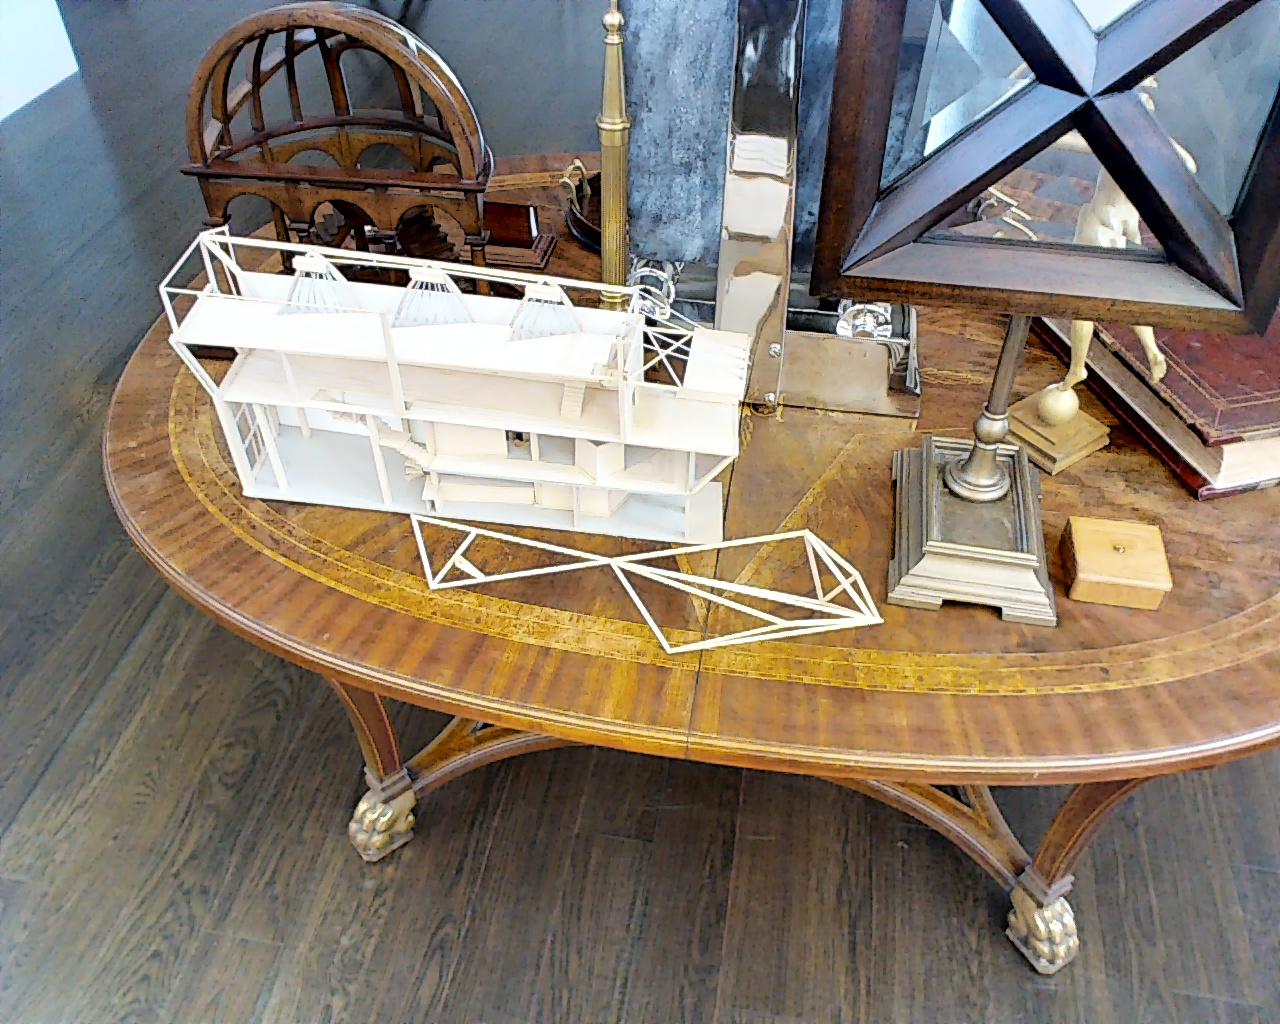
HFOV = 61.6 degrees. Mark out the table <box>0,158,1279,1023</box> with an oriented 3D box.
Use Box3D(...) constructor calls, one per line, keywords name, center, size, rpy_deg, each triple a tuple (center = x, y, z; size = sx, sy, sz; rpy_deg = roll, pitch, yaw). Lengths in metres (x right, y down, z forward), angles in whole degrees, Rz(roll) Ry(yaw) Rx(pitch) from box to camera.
Box3D(name="table", center=(0.130, 0.160, 1.490), size=(1.560, 0.800, 0.960), rpy_deg=(7, 43, 7))
